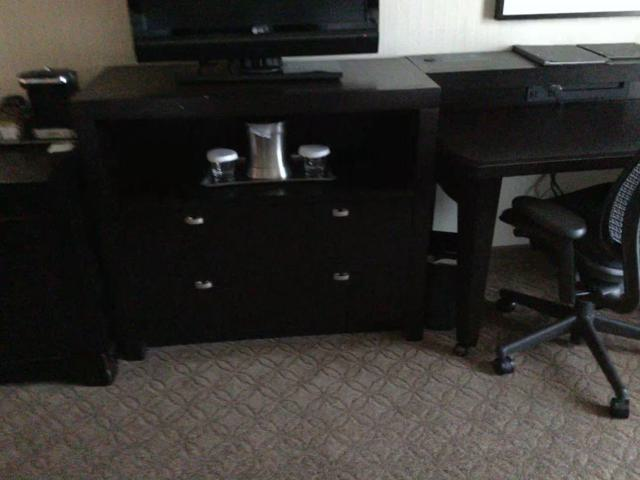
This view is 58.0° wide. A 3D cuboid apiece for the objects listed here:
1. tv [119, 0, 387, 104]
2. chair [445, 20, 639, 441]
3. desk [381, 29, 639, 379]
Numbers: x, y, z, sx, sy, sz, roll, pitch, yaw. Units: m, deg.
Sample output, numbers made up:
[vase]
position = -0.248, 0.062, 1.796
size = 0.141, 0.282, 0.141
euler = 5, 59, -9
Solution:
[tv]
position = -0.200, -0.780, 1.790
size = 0.780, 0.620, 0.250
euler = -4, 28, -5
[chair]
position = 0.900, -0.080, 1.880
size = 0.590, 1.090, 0.690
euler = -13, 30, -21
[desk]
position = 1.030, -0.190, 2.130
size = 1.460, 1.000, 0.750
euler = -4, 28, -5
